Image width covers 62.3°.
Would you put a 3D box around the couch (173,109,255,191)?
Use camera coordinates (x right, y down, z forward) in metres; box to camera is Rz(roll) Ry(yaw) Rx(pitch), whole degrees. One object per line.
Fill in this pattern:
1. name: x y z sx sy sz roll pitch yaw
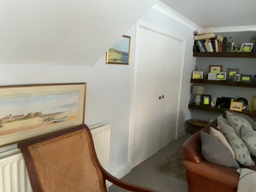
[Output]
1. couch: 1.660 0.770 2.870 1.110 0.690 2.410 9 10 36

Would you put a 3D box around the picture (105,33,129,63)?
1. picture: -0.120 -0.550 2.480 0.060 0.310 0.390 8 10 32

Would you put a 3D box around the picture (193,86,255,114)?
1. picture: 2.260 0.080 4.510 1.640 0.410 0.340 8 10 35

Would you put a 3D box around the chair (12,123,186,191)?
1. chair: -0.210 0.780 1.520 0.970 0.890 0.690 8 10 33
